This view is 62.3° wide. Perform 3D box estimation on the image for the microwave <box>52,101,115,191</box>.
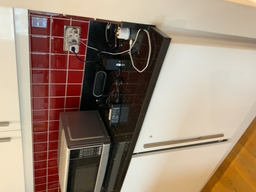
[{"bbox_3d":[-0.320,0.360,1.370,0.410,0.270,0.490,-121,37,-47],"label":"microwave"}]
